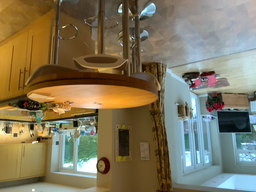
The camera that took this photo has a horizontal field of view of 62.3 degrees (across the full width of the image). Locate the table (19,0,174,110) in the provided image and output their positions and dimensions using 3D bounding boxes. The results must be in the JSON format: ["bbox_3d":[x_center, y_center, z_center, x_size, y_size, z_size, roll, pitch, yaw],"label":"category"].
[{"bbox_3d":[-0.230,-0.430,2.000,0.970,0.940,0.980,-7,166,32],"label":"table"}]
